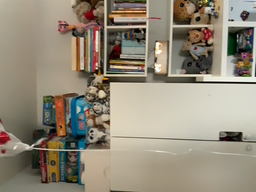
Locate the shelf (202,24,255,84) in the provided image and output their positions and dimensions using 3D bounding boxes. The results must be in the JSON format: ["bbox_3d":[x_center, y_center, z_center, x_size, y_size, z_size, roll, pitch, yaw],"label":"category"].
[{"bbox_3d":[0.820,-0.250,1.400,0.370,0.530,0.340,-41,-48,-85],"label":"shelf"}]

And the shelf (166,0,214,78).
[{"bbox_3d":[0.430,-0.620,1.490,0.190,0.280,0.980,-41,-48,-85],"label":"shelf"}]

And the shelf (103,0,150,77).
[{"bbox_3d":[0.000,-0.630,1.510,0.200,0.310,0.970,-41,-48,-85],"label":"shelf"}]
